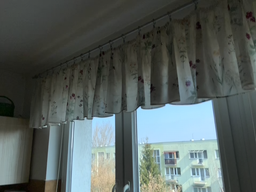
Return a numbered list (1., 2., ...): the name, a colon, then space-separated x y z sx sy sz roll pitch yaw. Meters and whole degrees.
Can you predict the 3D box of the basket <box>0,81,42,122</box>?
1. basket: -1.190 0.070 2.170 0.300 0.320 0.470 -14 -19 39
